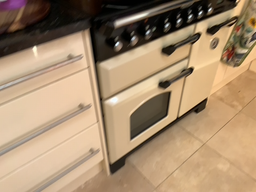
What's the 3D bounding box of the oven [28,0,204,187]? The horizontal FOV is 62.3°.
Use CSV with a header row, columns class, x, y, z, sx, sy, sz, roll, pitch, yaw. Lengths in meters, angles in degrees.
class,x,y,z,sx,sy,sz,roll,pitch,yaw
oven,-0.090,-0.070,1.310,0.540,0.760,0.750,-29,47,-29
